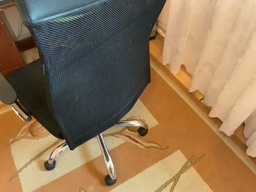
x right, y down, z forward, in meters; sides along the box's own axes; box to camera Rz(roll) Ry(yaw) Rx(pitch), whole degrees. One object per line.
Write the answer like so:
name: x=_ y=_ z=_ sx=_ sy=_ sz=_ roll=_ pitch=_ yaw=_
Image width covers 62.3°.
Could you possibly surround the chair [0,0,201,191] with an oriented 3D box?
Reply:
chair: x=-0.230 y=-0.130 z=0.900 sx=0.680 sy=1.160 sz=0.690 roll=33 pitch=59 yaw=24
